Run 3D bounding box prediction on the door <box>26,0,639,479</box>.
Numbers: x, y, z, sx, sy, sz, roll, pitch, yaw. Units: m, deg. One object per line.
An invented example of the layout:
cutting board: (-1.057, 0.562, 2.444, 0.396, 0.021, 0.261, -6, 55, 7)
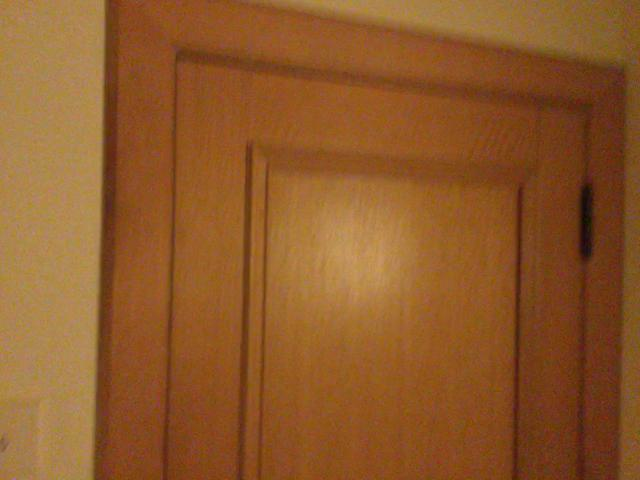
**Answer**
door: (0.140, 0.660, 1.070, 1.280, 2.250, 0.110, 7, -4, -23)
